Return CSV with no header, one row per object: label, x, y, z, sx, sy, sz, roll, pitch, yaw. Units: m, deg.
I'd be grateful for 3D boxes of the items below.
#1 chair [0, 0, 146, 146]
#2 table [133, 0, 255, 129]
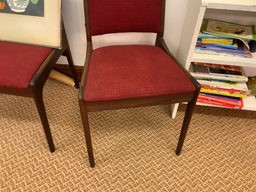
chair,-0.230,-0.220,1.080,0.440,0.740,0.560,-6,45,-10
table,0.660,-0.190,1.140,1.200,0.680,0.370,6,44,2
